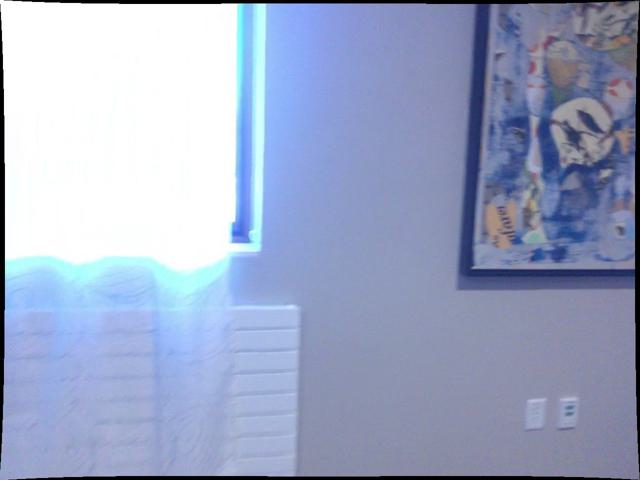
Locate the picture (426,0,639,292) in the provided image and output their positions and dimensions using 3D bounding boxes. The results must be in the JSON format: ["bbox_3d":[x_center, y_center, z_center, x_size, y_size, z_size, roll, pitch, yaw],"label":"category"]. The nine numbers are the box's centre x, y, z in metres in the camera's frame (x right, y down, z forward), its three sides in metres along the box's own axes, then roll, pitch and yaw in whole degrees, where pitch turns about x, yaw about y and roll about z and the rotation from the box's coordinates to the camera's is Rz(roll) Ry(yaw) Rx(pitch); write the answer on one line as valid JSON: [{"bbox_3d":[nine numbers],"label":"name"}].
[{"bbox_3d":[0.849,-0.391,2.000,0.899,1.112,0.150,-1,10,-11],"label":"picture"}]

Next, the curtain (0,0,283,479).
[{"bbox_3d":[-0.948,-0.110,1.710,1.607,2.384,0.510,-1,10,-11],"label":"curtain"}]
